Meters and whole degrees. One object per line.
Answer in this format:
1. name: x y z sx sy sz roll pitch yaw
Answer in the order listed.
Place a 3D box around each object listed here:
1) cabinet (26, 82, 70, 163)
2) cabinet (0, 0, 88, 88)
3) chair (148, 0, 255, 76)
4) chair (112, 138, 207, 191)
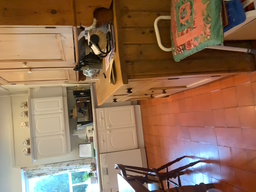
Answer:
1. cabinet: -1.500 0.470 4.010 0.350 0.660 1.400 155 110 -75
2. cabinet: -0.920 -0.340 1.800 1.680 1.030 0.260 155 110 -75
3. chair: 0.520 -0.420 1.050 0.440 0.700 0.530 153 112 -75
4. chair: 0.300 0.750 2.200 0.450 0.820 0.480 158 108 -75
